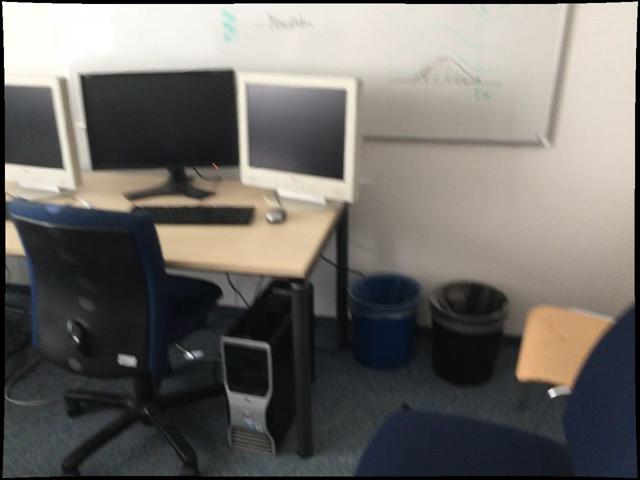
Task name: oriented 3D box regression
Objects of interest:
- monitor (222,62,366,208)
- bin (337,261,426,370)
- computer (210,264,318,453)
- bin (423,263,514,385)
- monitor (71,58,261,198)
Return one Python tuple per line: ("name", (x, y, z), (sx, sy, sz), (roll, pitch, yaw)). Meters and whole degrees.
("monitor", (-0.090, -0.380, 2.030), (0.470, 0.430, 0.170), (13, 28, 29))
("bin", (0.260, 0.300, 2.390), (0.320, 0.300, 0.310), (4, 25, 12))
("computer", (-0.170, 0.390, 2.020), (0.210, 0.430, 0.480), (4, 25, 12))
("bin", (0.579, 0.320, 2.290), (0.300, 0.320, 0.340), (4, 25, 12))
("monitor", (-0.549, -0.430, 2.200), (0.599, 0.460, 0.270), (-1, 24, 0))
